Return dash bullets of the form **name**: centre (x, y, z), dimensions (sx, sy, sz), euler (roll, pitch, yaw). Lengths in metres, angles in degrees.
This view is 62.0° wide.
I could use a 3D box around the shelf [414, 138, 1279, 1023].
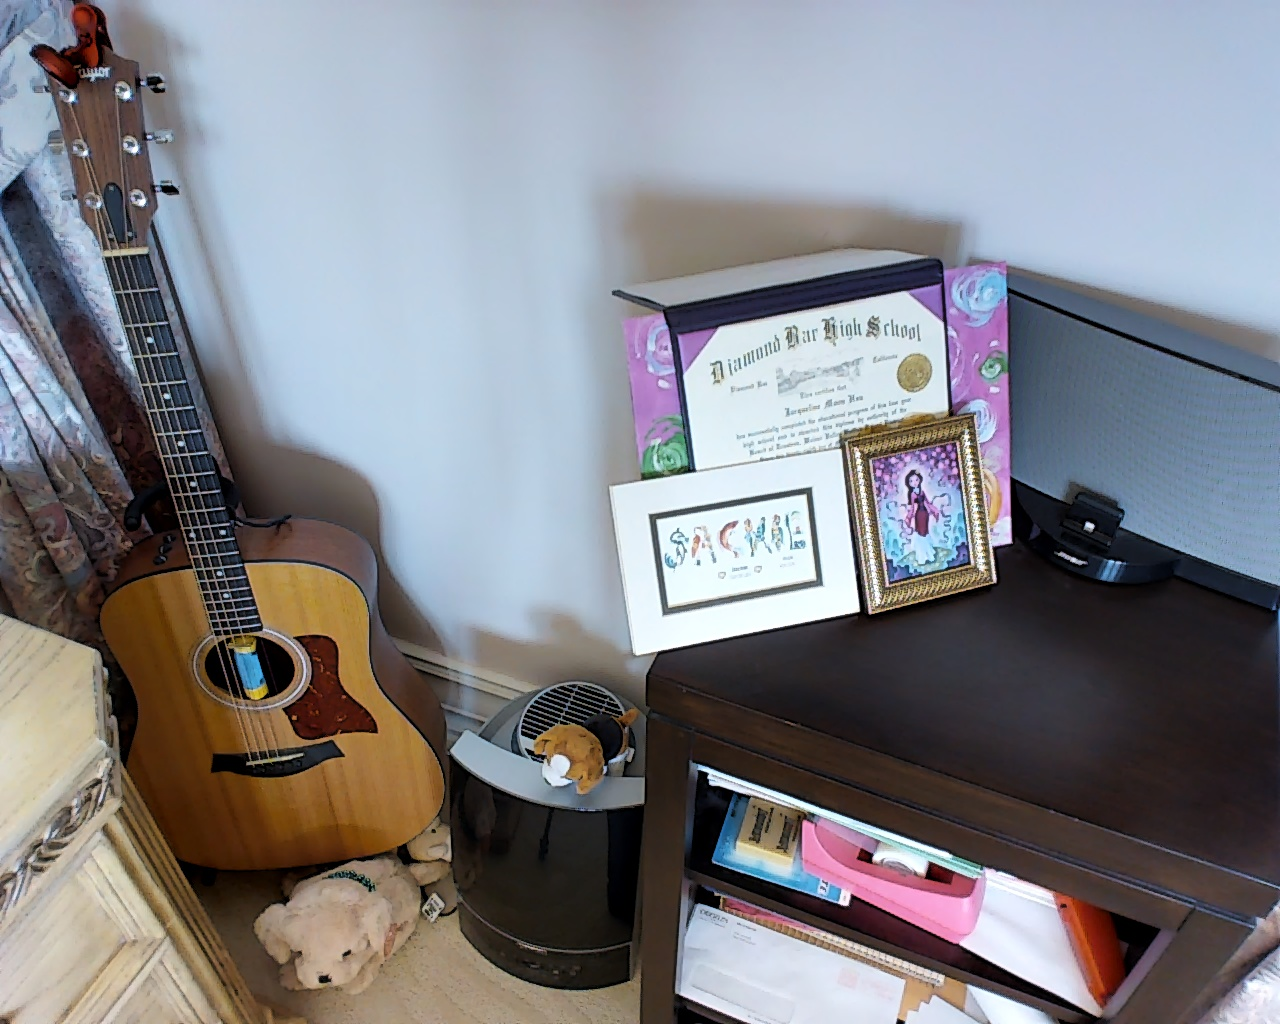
- **shelf**: centre (0.230, 0.280, 1.030), dimensions (0.660, 1.060, 0.370), euler (15, 44, 14)
